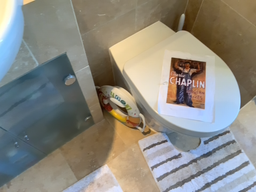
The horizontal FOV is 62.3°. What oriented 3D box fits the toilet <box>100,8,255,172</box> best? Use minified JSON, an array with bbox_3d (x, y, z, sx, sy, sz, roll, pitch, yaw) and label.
[{"bbox_3d":[0.200,-0.010,1.060,0.390,0.450,0.570,-32,68,-15],"label":"toilet"}]
